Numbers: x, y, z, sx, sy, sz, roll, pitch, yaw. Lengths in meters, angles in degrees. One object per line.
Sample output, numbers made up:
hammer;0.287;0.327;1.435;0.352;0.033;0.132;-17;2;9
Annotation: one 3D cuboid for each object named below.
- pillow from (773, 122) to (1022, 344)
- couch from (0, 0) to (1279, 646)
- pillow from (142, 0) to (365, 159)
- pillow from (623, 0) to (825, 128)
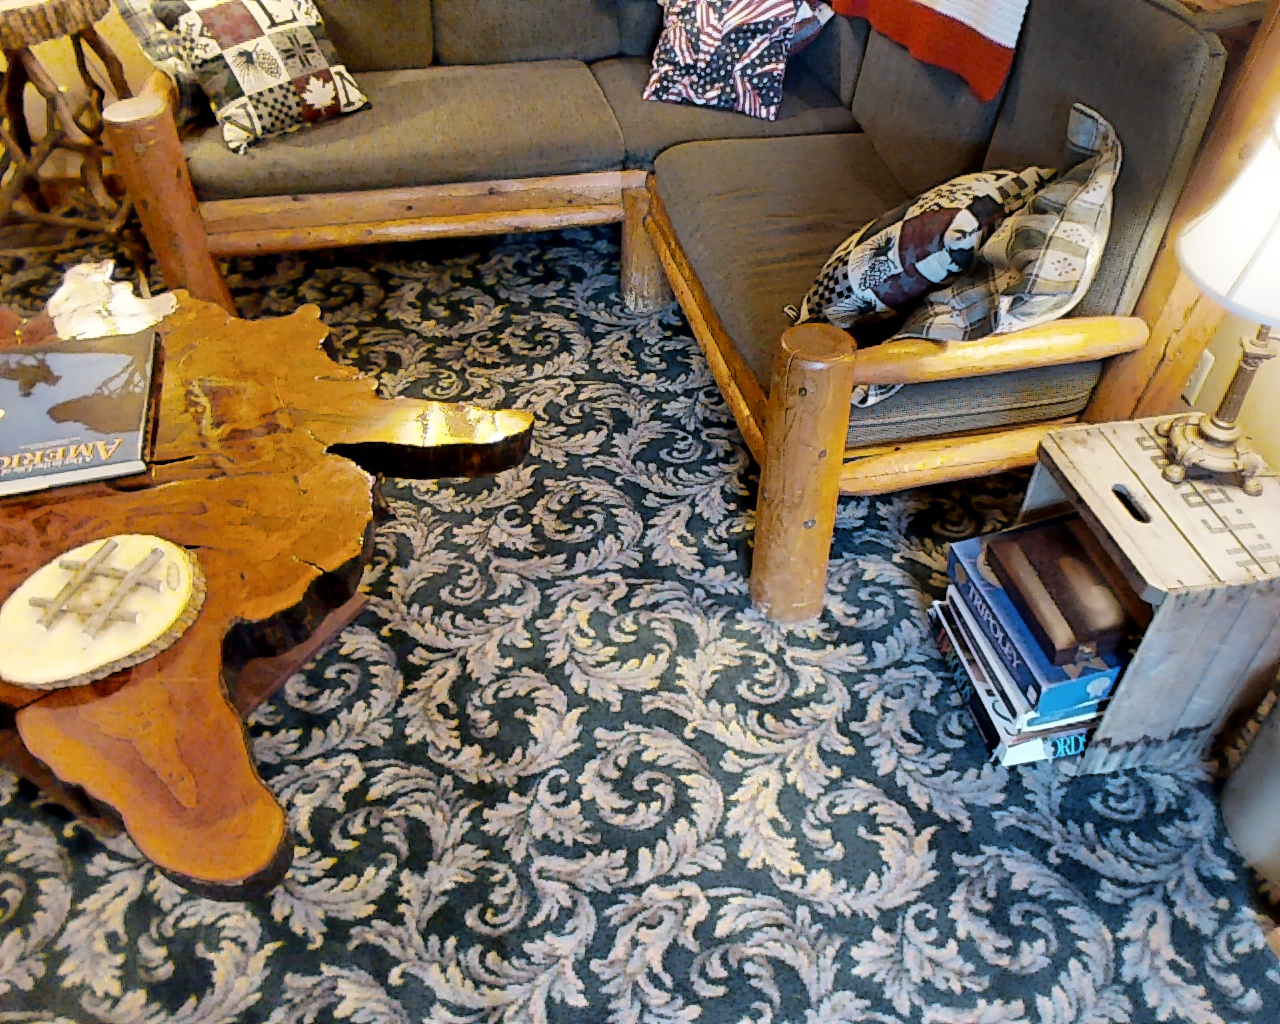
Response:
pillow;0.490;-0.500;2.010;0.150;0.370;0.390;52;26;9
couch;-0.110;-0.850;2.250;1.830;0.740;1.970;-8;44;-8
pillow;-0.940;-1.110;2.620;0.210;0.400;0.360;47;33;19
pillow;0.220;-1.230;2.780;0.430;0.280;0.350;14;45;14
